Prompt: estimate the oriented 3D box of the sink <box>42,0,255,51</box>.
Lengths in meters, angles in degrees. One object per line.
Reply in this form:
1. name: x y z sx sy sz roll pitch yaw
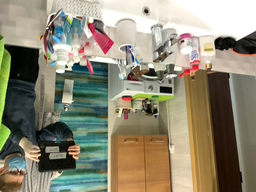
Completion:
1. sink: 0.160 -0.360 0.770 0.870 0.130 0.370 4 167 -21
